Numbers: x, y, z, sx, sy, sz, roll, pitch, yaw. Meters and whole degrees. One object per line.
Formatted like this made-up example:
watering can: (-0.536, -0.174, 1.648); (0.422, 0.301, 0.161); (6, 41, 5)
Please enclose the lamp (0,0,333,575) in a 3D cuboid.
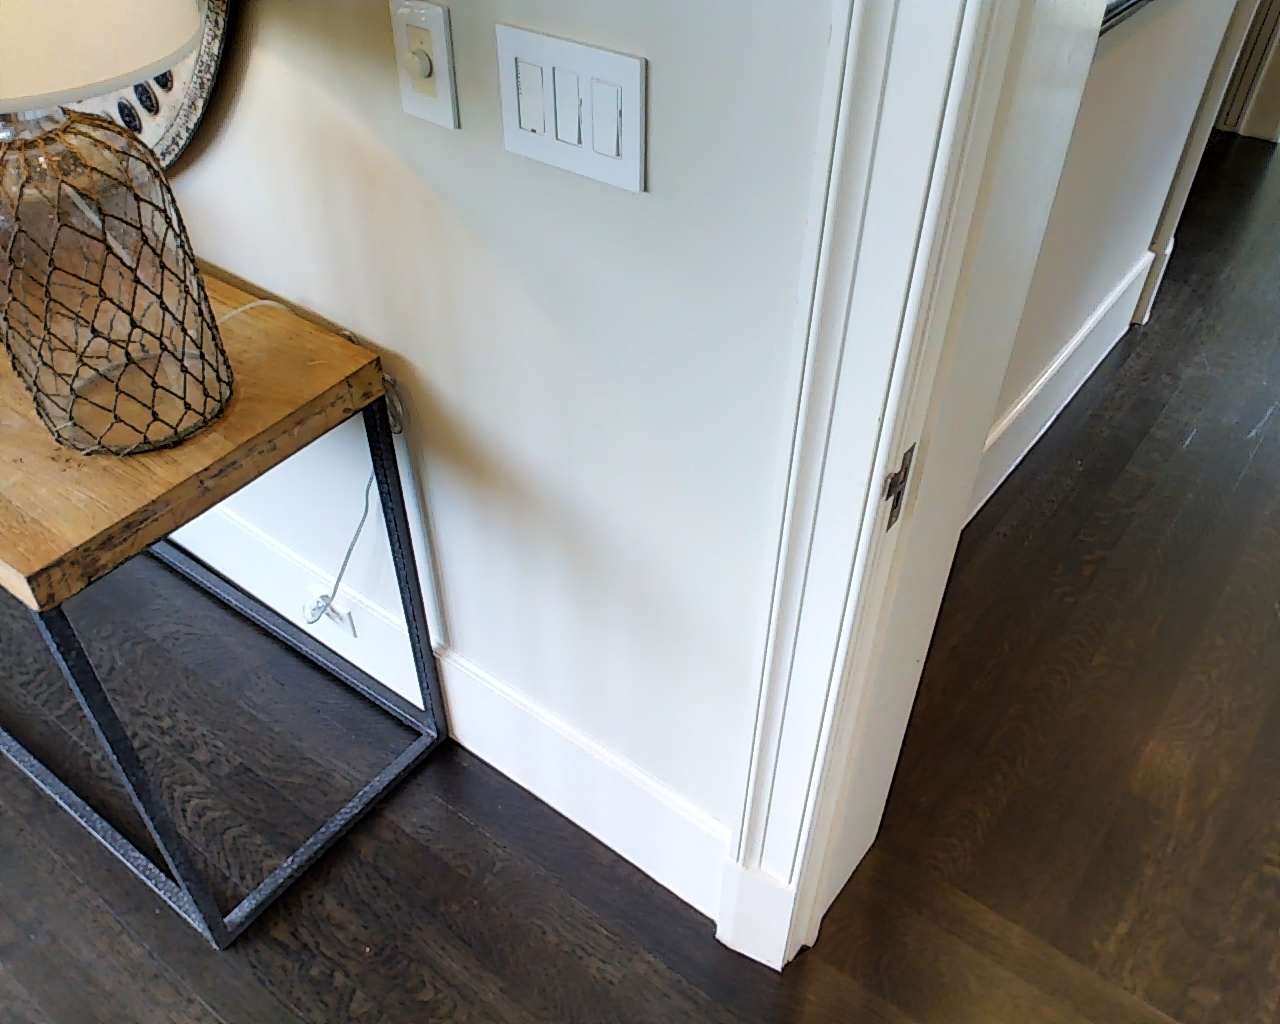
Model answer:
lamp: (-0.650, -0.380, 1.070); (0.420, 0.710, 0.360); (27, 48, 27)
